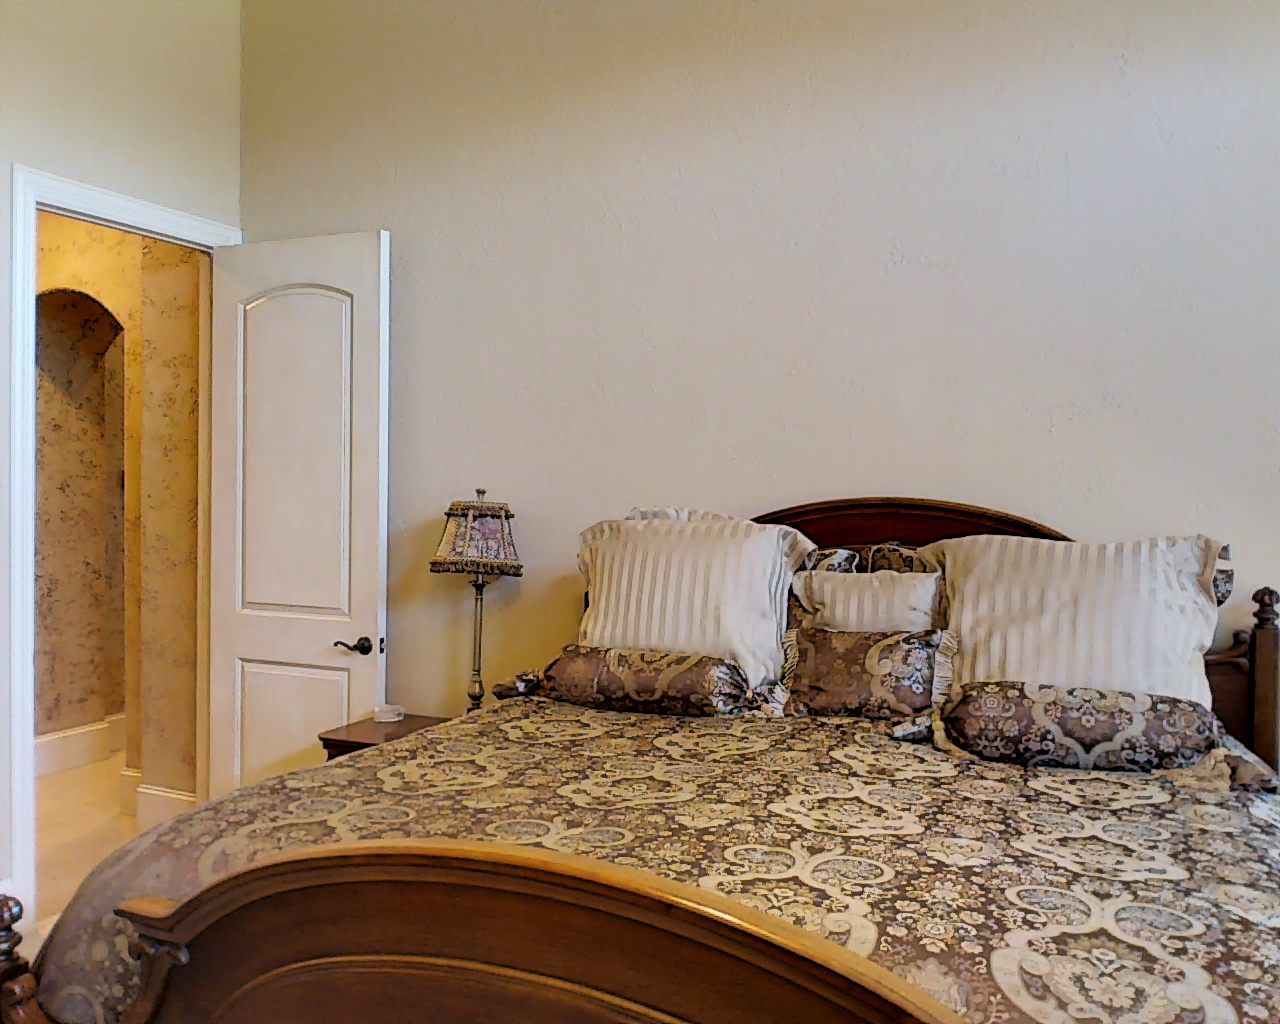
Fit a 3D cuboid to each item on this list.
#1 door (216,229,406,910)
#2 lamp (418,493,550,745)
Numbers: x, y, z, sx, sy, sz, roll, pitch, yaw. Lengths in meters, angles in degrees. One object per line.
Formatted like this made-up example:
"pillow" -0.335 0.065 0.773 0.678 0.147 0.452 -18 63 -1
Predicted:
"door" -1.280 0.210 4.130 0.850 2.501 0.050 1 1 23
"lamp" -0.540 0.350 3.750 0.330 0.830 0.310 1 1 25
